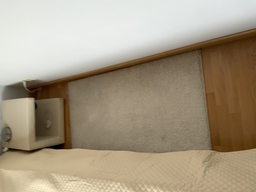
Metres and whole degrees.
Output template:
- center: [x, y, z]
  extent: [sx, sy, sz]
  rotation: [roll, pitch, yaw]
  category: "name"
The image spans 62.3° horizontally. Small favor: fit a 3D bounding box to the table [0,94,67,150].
- center: [-0.830, 0.220, 1.850]
  extent: [0.460, 0.330, 0.420]
  rotation: [-8, 85, 33]
  category: "table"
